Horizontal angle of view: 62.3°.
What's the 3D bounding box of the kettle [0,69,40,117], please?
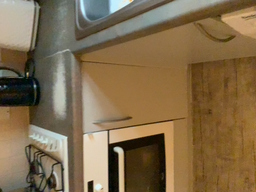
[{"bbox_3d":[-0.590,-0.020,1.090,0.170,0.210,0.220,4,94,49],"label":"kettle"}]
